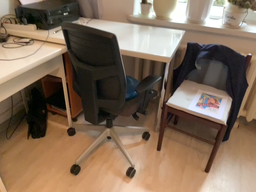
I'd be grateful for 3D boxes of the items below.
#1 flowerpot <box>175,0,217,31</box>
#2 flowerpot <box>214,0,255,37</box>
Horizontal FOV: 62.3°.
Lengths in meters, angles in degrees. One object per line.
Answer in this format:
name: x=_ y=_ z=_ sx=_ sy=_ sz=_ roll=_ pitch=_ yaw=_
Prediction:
flowerpot: x=0.590 y=-0.840 z=1.760 sx=0.280 sy=0.510 sz=0.190 roll=16 pitch=34 yaw=19
flowerpot: x=0.880 y=-0.690 z=1.750 sx=0.230 sy=0.310 sz=0.250 roll=15 pitch=34 yaw=18
